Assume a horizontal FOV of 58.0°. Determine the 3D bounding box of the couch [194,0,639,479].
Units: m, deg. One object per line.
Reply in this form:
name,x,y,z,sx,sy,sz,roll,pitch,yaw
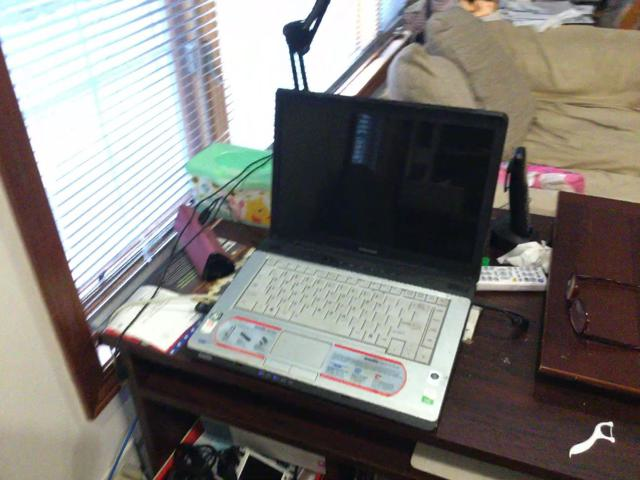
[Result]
couch,0.570,-0.170,1.910,0.970,0.960,1.950,7,36,17
